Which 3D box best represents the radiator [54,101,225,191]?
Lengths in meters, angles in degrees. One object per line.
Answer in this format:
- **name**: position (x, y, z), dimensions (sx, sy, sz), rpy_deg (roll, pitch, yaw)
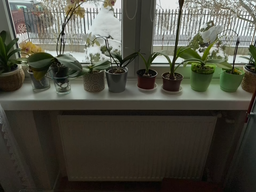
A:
- **radiator**: position (0.060, 0.430, 1.540), dimensions (1.030, 0.780, 0.180), rpy_deg (1, 29, -1)
